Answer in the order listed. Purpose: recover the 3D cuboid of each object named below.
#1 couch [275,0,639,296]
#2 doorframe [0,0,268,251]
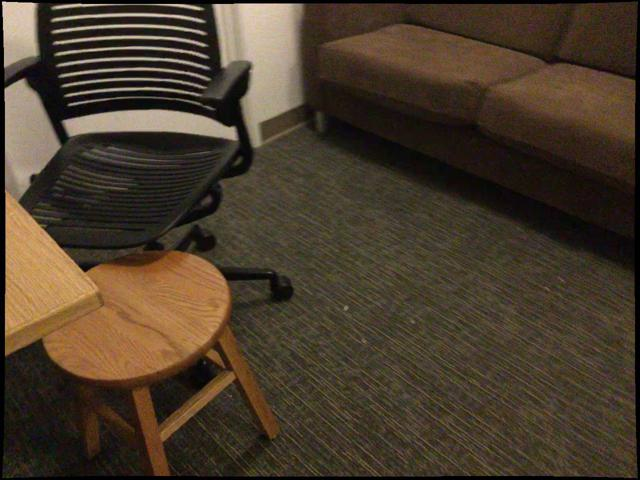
[{"bbox_3d":[0.779,-0.641,2.080,0.940,0.750,1.749,-33,48,-31],"label":"couch"},{"bbox_3d":[-0.699,-0.991,1.680,1.010,1.951,0.180,-33,48,-31],"label":"doorframe"}]
